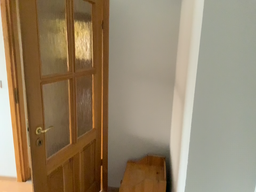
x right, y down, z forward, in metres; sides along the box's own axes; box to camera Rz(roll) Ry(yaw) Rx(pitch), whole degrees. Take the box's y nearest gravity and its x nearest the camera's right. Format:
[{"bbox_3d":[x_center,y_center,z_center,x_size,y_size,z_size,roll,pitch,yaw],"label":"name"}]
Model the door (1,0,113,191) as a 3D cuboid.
[{"bbox_3d":[-0.460,0.210,1.820,0.160,2.100,1.050,7,14,22],"label":"door"}]
